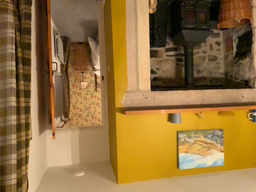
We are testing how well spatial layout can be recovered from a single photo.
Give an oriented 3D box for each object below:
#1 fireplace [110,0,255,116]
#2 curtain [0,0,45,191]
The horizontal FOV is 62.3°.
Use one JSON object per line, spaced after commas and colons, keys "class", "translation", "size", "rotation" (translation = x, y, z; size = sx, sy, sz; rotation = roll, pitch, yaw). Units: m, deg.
{"class": "fireplace", "translation": [0.830, -0.670, 2.960], "size": [2.030, 1.710, 0.800], "rotation": [-2, -179, -13]}
{"class": "curtain", "translation": [-0.690, -0.160, 1.350], "size": [0.160, 2.000, 0.560], "rotation": [-2, -179, -14]}
